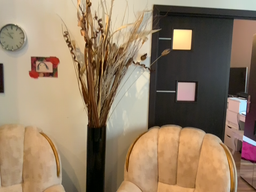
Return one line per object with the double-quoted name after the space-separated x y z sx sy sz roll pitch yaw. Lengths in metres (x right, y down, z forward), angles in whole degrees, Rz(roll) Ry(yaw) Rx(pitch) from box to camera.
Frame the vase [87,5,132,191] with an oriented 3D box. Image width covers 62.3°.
-0.180 0.250 1.880 0.330 1.920 0.280 1 7 -7 "vase"
